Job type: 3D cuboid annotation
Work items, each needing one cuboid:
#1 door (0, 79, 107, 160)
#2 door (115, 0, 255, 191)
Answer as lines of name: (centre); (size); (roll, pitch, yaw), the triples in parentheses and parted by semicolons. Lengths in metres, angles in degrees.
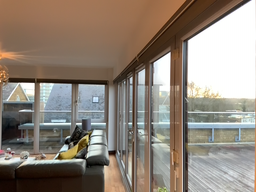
door: (-2.520, 0.640, 5.890); (3.860, 2.160, 0.080); (0, -1, -10)
door: (0.070, 0.650, 3.280); (0.130, 2.080, 5.310); (0, -1, -8)
